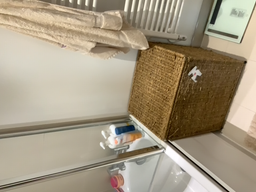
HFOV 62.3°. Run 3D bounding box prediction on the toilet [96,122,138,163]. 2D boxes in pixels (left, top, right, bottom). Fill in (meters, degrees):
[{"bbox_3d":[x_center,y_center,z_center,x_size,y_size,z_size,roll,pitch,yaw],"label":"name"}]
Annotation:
[{"bbox_3d":[-0.080,0.320,1.490,0.120,0.240,0.220,36,122,49],"label":"toilet"}]
